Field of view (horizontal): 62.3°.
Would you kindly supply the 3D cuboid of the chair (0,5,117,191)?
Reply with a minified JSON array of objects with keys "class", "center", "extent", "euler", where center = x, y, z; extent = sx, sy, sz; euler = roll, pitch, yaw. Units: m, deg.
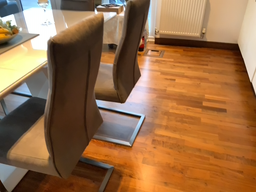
[{"class":"chair","center":[-0.450,0.130,1.100],"extent":[0.630,1.020,0.470],"euler":[8,35,13]}]
